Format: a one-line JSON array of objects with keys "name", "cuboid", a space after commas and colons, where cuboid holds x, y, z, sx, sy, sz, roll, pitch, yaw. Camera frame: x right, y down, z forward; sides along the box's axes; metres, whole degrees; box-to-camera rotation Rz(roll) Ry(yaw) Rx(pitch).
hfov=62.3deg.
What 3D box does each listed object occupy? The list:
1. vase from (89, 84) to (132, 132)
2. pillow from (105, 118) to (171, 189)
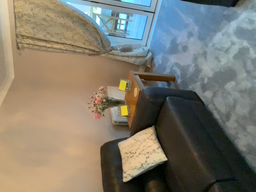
[{"name": "vase", "cuboid": [-0.260, 0.170, 2.830, 0.320, 0.450, 0.550, -107, 26, -52]}, {"name": "pillow", "cuboid": [0.110, 0.530, 2.070, 0.520, 0.420, 0.240, -43, -26, -53]}]
